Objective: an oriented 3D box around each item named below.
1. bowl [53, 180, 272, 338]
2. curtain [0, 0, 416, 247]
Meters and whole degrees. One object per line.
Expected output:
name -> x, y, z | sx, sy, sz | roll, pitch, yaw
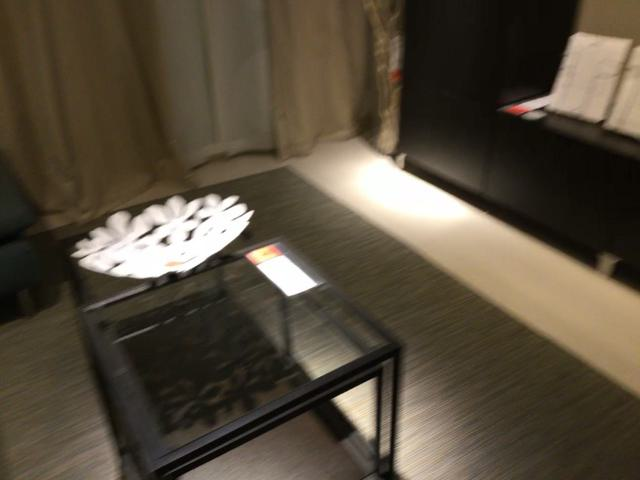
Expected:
bowl -> -0.410, 0.020, 1.490 | 0.430, 0.130, 0.390 | -19, 33, -26
curtain -> -0.470, -1.040, 2.580 | 2.010, 1.610, 0.360 | -19, 33, -26
